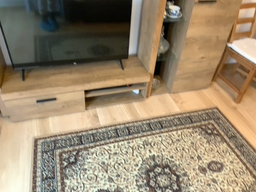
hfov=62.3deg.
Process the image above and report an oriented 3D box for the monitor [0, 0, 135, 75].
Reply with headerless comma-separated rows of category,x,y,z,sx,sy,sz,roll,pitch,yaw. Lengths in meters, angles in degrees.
monitor,-0.440,-0.480,1.710,0.980,0.580,0.060,-9,44,-17
